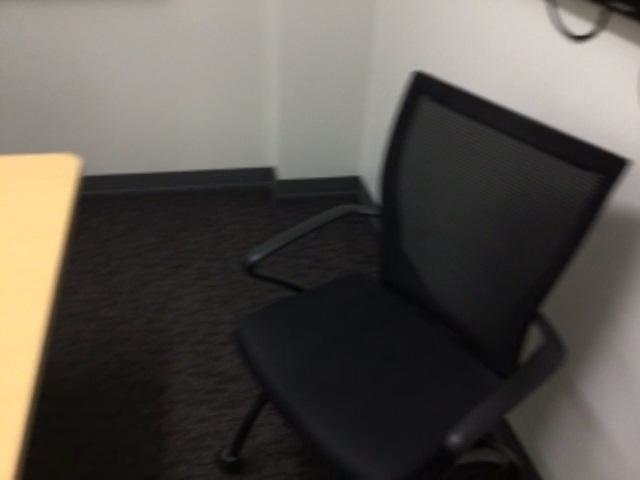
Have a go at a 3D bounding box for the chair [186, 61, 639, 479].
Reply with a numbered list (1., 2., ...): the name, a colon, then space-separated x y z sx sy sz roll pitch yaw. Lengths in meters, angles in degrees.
1. chair: 0.140 0.180 1.130 0.570 0.840 0.580 -17 40 -32
